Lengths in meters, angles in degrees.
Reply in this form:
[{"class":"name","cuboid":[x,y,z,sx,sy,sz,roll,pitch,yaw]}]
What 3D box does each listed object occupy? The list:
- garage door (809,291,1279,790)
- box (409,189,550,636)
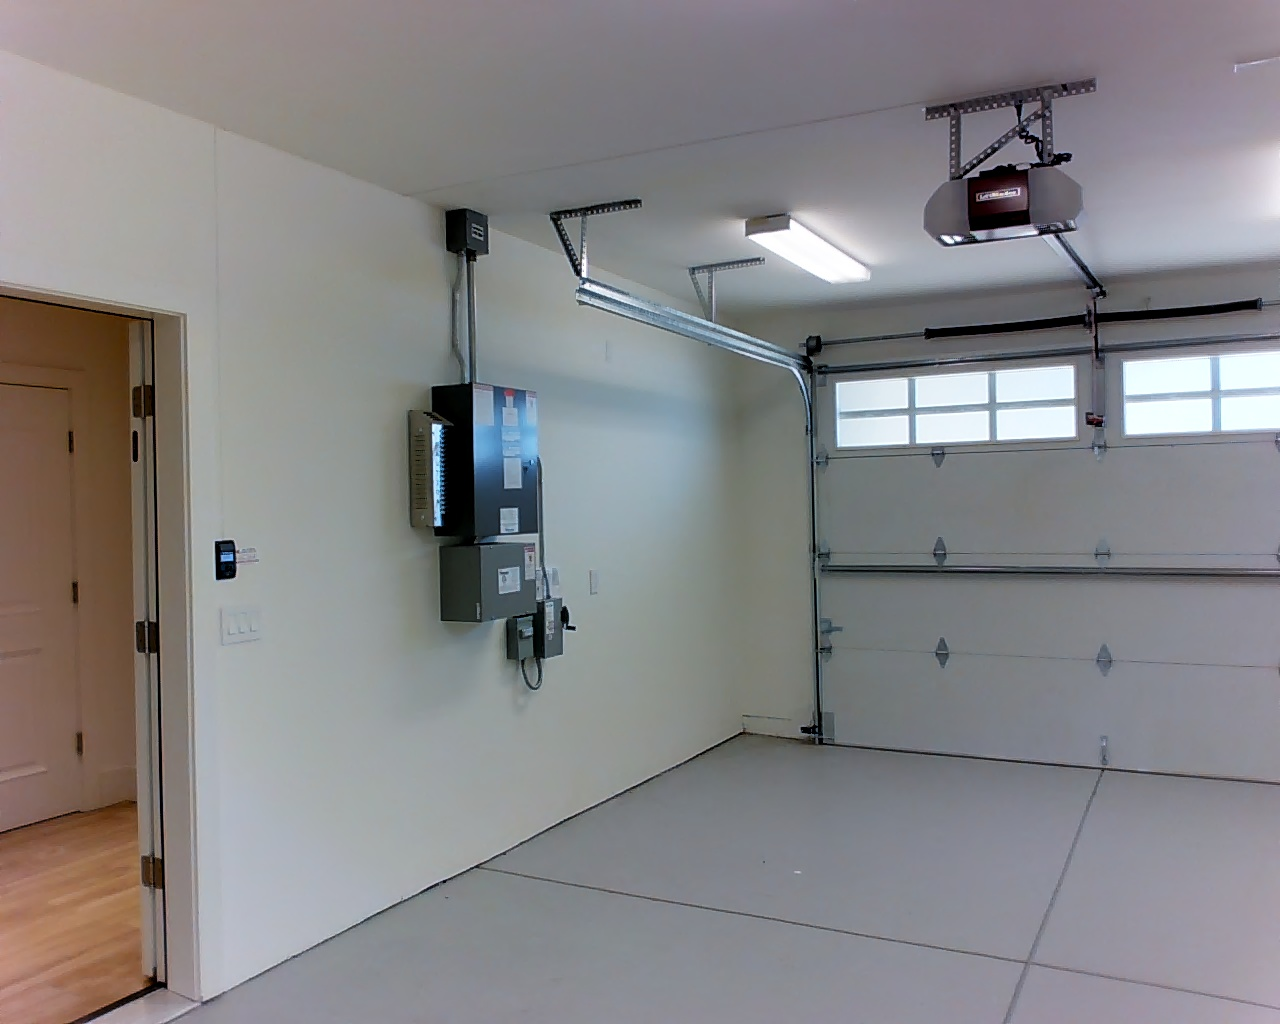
[{"class":"garage door","cuboid":[2.720,0.160,6.190,3.580,2.660,0.150,0,0,28]},{"class":"box","cuboid":[-0.660,-0.390,4.520,0.230,1.740,0.650,0,0,28]}]
